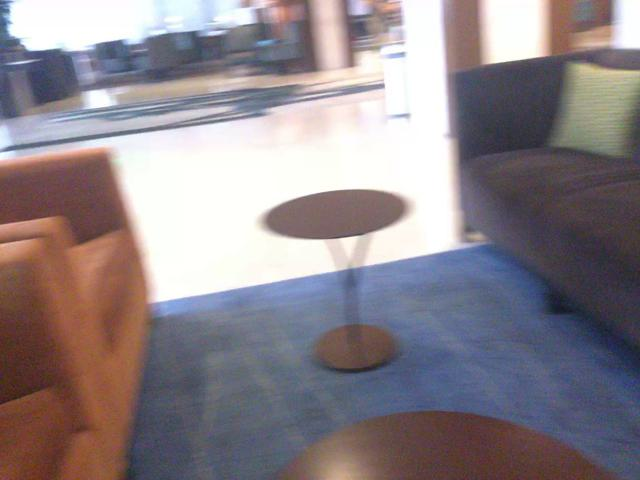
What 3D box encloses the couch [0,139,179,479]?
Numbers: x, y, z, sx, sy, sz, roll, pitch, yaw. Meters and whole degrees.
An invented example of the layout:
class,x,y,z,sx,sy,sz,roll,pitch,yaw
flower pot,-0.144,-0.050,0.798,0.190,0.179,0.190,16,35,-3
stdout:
class,x,y,z,sx,sy,sz,roll,pitch,yaw
couch,-0.980,0.210,1.800,0.820,0.830,1.040,-7,18,-5
